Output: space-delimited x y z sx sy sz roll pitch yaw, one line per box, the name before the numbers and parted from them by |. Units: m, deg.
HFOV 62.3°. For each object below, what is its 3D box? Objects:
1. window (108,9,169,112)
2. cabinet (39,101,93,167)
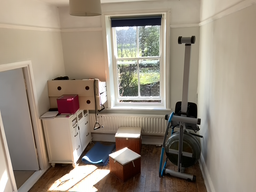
window | 0.230 -0.630 4.110 1.070 1.860 0.360 -1 15 6
cabinet | -1.020 0.600 3.710 0.470 0.790 0.960 0 15 8
